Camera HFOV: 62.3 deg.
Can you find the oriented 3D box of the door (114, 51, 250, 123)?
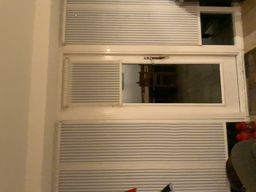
[{"bbox_3d":[0.640,-0.110,2.580,0.060,1.600,0.870,107,164,-78],"label":"door"}]
